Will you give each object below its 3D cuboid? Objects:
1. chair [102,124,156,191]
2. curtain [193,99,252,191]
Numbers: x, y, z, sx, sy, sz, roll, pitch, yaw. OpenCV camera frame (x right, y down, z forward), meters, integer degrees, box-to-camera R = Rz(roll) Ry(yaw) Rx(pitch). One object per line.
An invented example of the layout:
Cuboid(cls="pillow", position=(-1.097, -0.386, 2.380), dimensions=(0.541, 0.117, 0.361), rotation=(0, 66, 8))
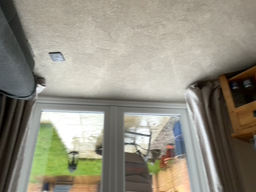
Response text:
Cuboid(cls="chair", position=(-0.010, 1.130, 3.610), dimensions=(0.570, 1.030, 0.780), rotation=(13, 148, -23))
Cuboid(cls="curtain", position=(0.790, 0.990, 1.520), dimensions=(0.240, 2.070, 0.210), rotation=(4, 150, -8))
